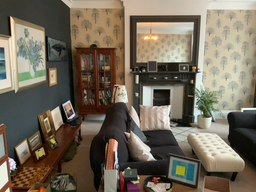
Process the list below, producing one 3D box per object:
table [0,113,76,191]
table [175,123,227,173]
[{"bbox_3d":[-1.420,0.780,3.220,0.410,0.310,2.780,1,11,3],"label":"table"},{"bbox_3d":[1.070,0.750,3.290,0.510,0.350,1.010,1,11,4],"label":"table"}]
